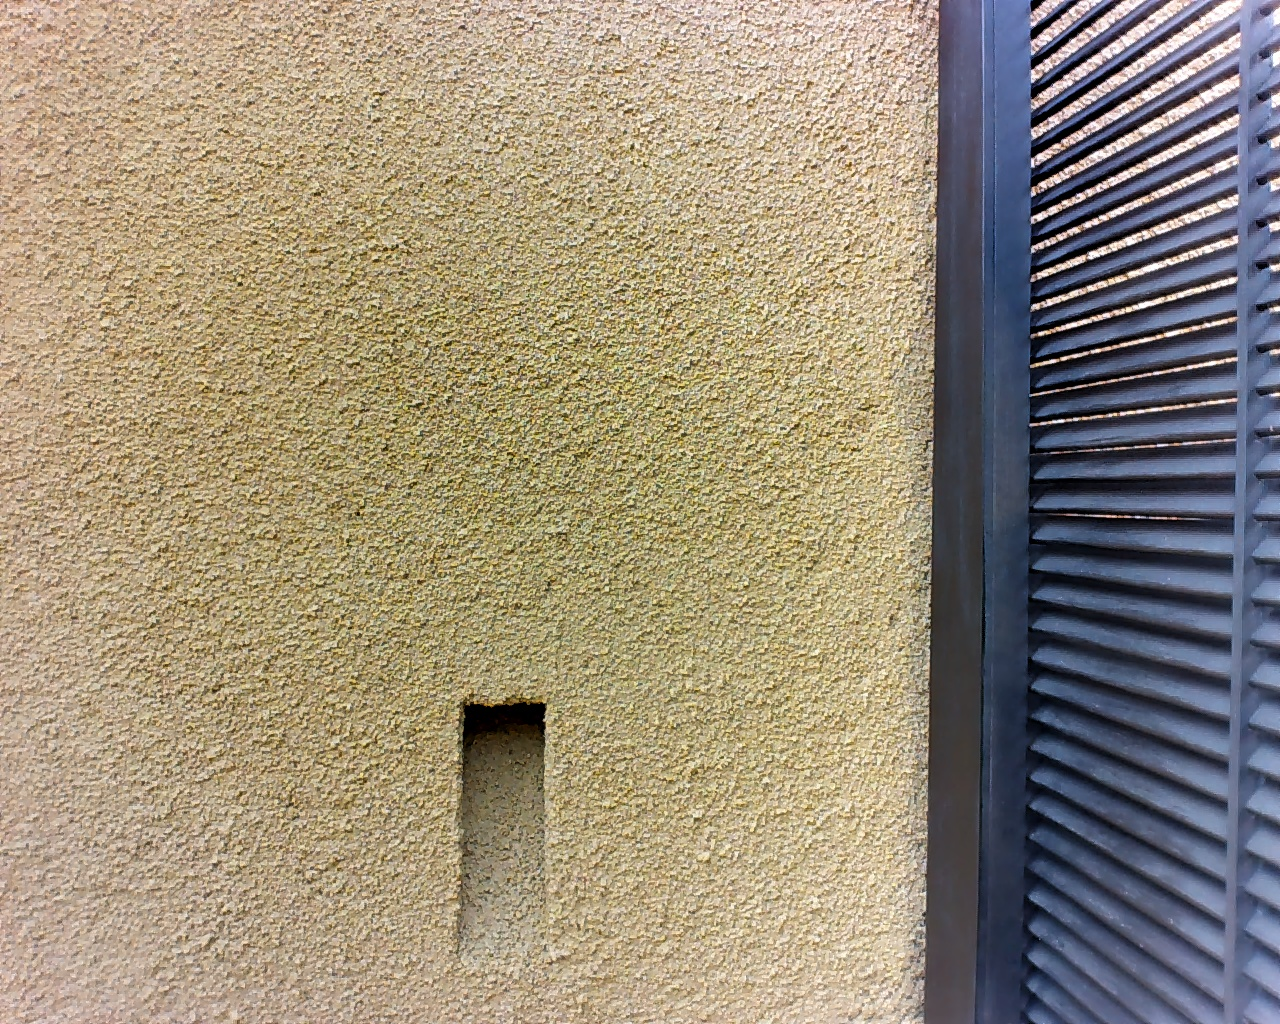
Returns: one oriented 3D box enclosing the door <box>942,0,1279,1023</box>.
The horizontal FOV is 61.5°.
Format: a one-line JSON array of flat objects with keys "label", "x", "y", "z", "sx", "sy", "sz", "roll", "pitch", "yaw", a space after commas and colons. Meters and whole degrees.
[{"label": "door", "x": 0.560, "y": -0.120, "z": 1.190, "sx": 0.090, "sy": 2.031, "sz": 0.840, "roll": 1, "pitch": 1, "yaw": -7}]
